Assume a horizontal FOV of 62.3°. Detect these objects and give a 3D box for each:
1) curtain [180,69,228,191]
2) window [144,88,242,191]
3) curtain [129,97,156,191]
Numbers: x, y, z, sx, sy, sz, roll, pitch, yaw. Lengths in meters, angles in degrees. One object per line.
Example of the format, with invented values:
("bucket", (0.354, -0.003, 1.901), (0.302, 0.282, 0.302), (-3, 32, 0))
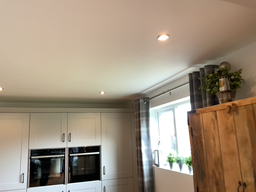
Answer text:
("curtain", (0.720, 0.850, 1.950), (0.210, 2.170, 0.390), (-1, -11, -3))
("window", (0.710, 0.630, 2.970), (0.400, 1.120, 1.700), (1, -11, -15))
("curtain", (0.240, 1.140, 3.460), (0.270, 2.230, 0.280), (7, -14, -40))
